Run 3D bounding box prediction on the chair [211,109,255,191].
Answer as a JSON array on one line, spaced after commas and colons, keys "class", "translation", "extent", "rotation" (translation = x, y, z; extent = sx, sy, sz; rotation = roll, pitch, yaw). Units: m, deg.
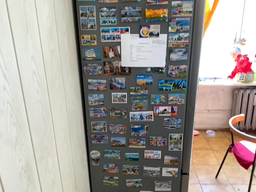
[{"class": "chair", "translation": [1.160, 0.560, 1.950], "extent": [0.530, 0.680, 0.440], "rotation": [-13, 22, -29]}]
